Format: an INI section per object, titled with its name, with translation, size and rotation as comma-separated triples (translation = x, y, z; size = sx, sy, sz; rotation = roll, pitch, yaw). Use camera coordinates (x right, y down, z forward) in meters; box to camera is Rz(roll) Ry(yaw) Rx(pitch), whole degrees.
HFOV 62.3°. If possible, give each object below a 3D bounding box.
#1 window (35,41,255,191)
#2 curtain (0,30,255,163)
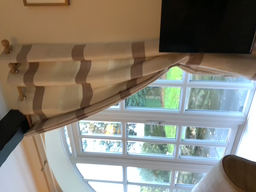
[window]
translation = 0.240, 0.510, 2.630
size = 0.120, 2.240, 2.340
rotation = -80, -8, -56
[curtain]
translation = 0.110, 0.030, 1.660
size = 0.230, 2.370, 0.960
rotation = -80, -9, -58
